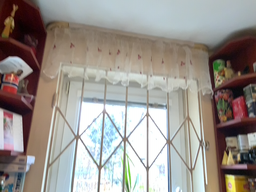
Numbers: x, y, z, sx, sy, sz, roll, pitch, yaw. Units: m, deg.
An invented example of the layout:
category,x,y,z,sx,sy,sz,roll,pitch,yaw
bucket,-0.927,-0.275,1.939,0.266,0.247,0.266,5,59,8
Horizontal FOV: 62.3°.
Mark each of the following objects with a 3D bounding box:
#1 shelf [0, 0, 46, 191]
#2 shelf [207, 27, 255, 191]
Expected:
category,x,y,z,sx,sy,sz,roll,pitch,yaw
shelf,-0.530,0.000,0.940,0.150,0.930,0.290,5,-18,-11
shelf,0.620,0.130,1.150,0.150,0.940,0.300,5,-18,-11
